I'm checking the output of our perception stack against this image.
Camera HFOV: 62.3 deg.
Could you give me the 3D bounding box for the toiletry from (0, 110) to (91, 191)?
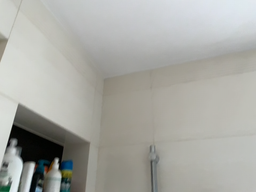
[{"bbox_3d":[-0.350,0.300,0.830,0.160,0.310,0.470,-10,-30,19],"label":"toiletry"}]
